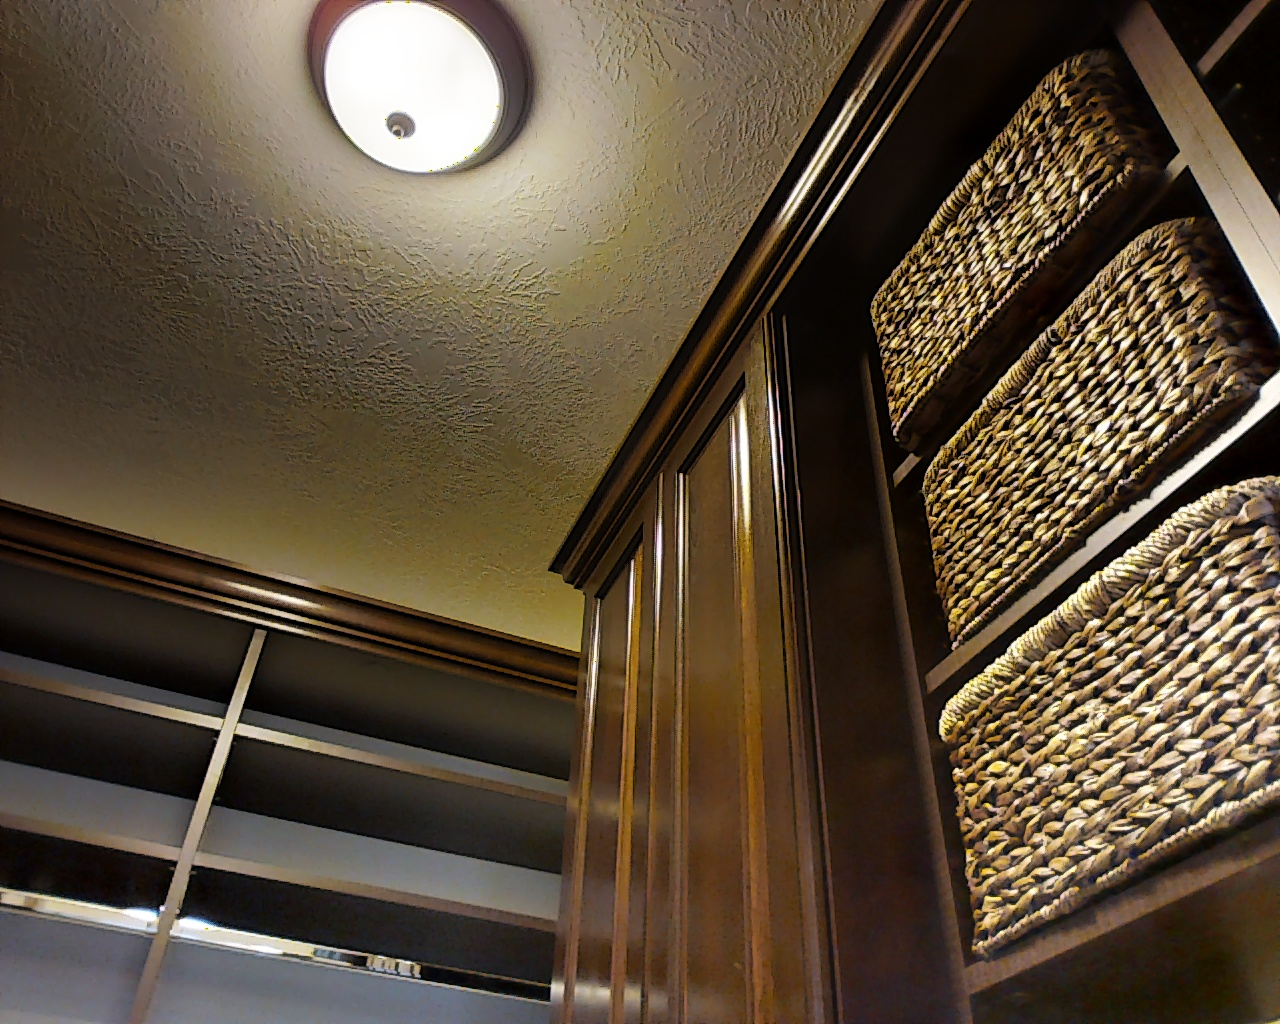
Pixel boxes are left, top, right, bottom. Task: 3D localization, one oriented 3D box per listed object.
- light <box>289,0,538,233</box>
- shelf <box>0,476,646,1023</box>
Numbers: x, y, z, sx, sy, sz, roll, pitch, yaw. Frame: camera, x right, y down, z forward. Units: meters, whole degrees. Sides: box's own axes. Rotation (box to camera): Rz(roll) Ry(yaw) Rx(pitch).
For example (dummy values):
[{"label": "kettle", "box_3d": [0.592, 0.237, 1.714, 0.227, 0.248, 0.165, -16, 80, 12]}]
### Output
[{"label": "light", "box_3d": [-0.280, -0.510, 1.350, 0.190, 0.120, 0.220, -31, -51, 33]}, {"label": "shelf", "box_3d": [-0.790, 0.430, 1.820, 1.540, 0.660, 0.420, 18, -43, -16]}]
